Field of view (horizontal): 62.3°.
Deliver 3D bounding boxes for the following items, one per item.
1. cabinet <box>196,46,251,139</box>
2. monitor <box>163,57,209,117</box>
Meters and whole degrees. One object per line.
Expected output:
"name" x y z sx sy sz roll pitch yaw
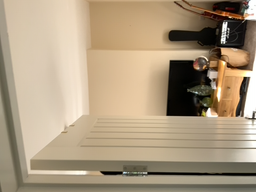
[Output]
"cabinet" 1.460 -0.080 3.390 0.610 0.420 1.360 -91 2 -73
"monitor" 0.940 -0.130 3.490 0.040 0.600 0.960 -89 4 -74
